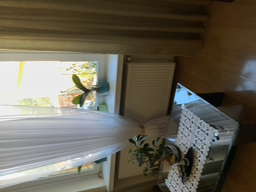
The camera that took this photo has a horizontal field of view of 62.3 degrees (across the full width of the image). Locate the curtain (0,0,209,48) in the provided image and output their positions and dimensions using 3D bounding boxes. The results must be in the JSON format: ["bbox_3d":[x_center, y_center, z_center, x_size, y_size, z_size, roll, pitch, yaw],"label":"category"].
[{"bbox_3d":[-0.480,-0.750,1.740,0.230,2.640,0.610,-139,50,-60],"label":"curtain"}]

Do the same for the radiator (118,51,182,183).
[{"bbox_3d":[0.240,0.320,2.720,0.170,0.600,1.740,-135,46,-58],"label":"radiator"}]

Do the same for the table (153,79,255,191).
[{"bbox_3d":[0.710,0.530,1.930,0.790,0.470,1.150,-130,42,-55],"label":"table"}]
